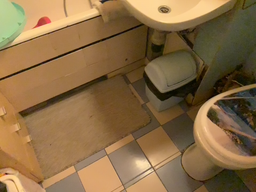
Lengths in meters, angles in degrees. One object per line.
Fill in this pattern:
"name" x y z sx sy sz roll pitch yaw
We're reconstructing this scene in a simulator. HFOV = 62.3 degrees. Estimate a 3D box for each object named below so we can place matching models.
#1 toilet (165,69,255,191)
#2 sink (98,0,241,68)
"toilet" 0.540 0.210 1.140 0.500 0.420 0.360 -26 62 -15
"sink" 0.140 -0.430 0.950 0.400 0.190 0.500 -25 61 -15
